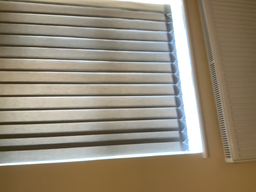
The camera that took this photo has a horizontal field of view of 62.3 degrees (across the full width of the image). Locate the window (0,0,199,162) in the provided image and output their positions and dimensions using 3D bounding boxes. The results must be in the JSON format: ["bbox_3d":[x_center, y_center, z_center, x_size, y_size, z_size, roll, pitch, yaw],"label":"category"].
[{"bbox_3d":[-0.220,-0.140,1.290,0.020,1.290,0.970,131,137,-71],"label":"window"}]
